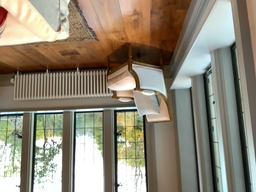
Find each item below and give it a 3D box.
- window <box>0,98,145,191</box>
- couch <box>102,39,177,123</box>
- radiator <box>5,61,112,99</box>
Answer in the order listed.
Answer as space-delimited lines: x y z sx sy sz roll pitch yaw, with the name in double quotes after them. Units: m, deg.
-1.040 1.020 3.450 2.580 1.880 0.160 -2 171 4 "window"
0.120 -0.120 2.870 0.720 0.940 0.700 4 169 -30 "couch"
-1.100 -0.250 3.390 1.670 0.510 0.170 -2 171 4 "radiator"
